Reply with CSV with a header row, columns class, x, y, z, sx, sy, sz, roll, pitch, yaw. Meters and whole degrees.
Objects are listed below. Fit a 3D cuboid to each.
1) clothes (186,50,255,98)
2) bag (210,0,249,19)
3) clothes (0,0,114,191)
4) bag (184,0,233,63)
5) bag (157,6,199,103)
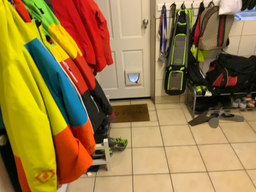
class,x,y,z,sx,sy,sz,roll,pitch,yaw
clothes,1.210,-0.260,2.460,0.950,0.430,0.310,-3,31,2
bag,1.030,-0.980,2.150,0.270,0.310,0.230,-4,31,-1
clothes,-0.400,-0.290,1.680,0.380,1.620,2.040,-4,31,0
bag,0.850,-0.690,2.310,0.380,0.600,0.210,-5,31,-1
bag,0.550,-0.440,2.470,0.380,1.090,0.180,-3,31,1
